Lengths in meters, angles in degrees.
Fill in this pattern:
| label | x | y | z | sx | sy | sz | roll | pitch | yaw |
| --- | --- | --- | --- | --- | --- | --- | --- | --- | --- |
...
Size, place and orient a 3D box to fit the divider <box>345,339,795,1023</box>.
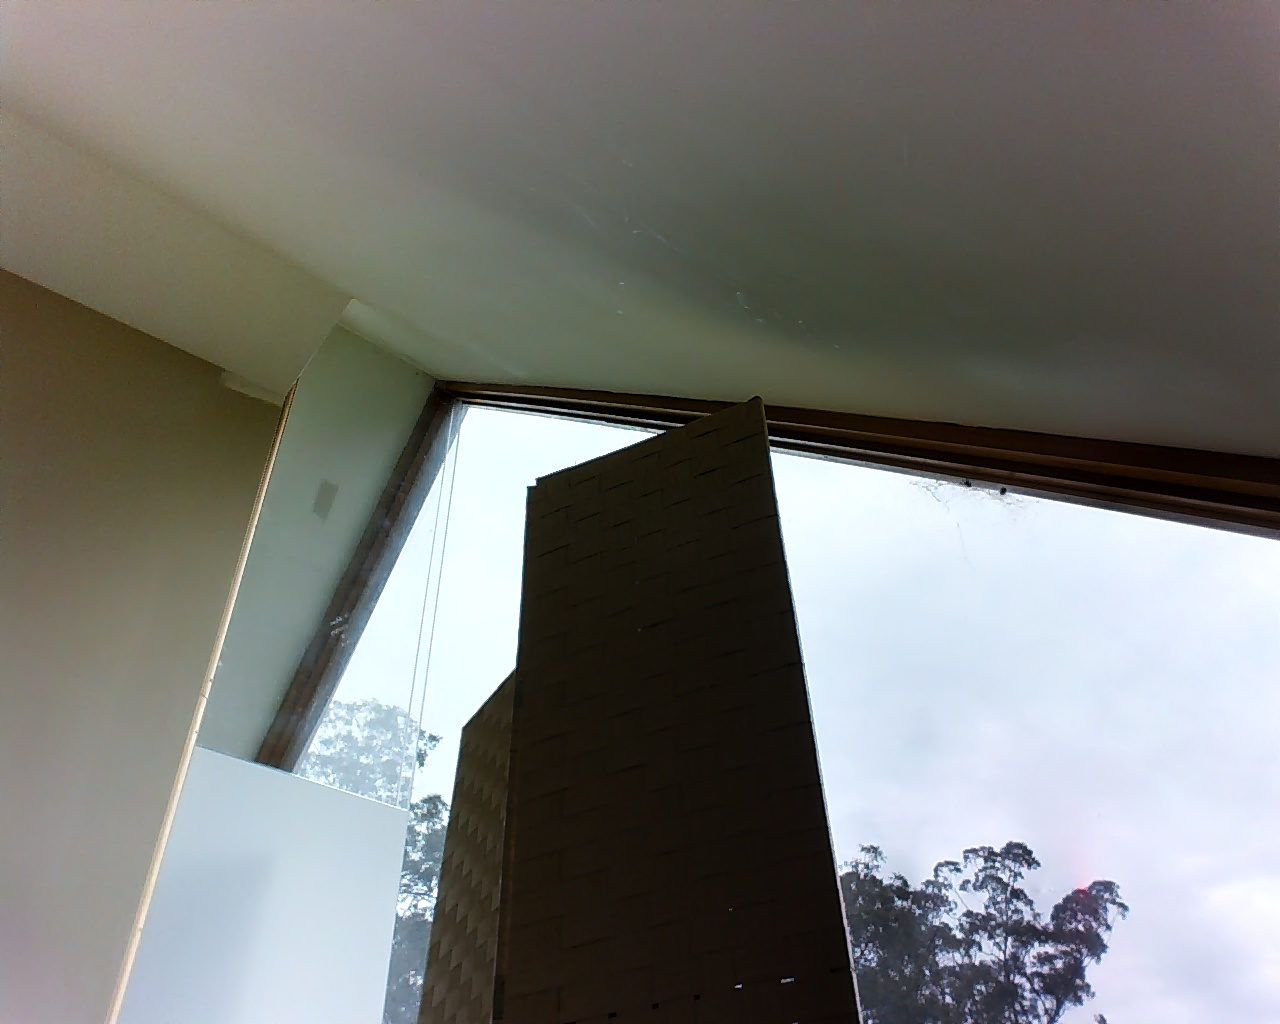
| label | x | y | z | sx | sy | sz | roll | pitch | yaw |
| --- | --- | --- | --- | --- | --- | --- | --- | --- | --- |
| divider | -0.190 | 0.740 | 1.460 | 0.210 | 1.660 | 1.150 | 17 | -45 | -19 |
